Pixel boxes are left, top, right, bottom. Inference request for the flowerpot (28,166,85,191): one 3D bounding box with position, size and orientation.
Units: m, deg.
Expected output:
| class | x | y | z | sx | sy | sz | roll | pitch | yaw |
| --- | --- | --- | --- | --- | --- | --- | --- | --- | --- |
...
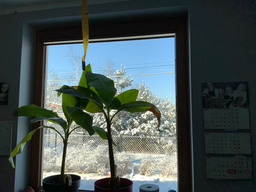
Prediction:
| class | x | y | z | sx | sy | sz | roll | pitch | yaw |
| --- | --- | --- | --- | --- | --- | --- | --- | --- | --- |
| flowerpot | -0.570 | 0.800 | 1.740 | 0.280 | 0.340 | 0.400 | -1 | -5 | 11 |
